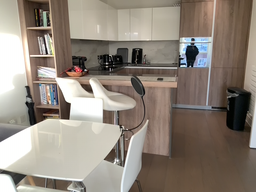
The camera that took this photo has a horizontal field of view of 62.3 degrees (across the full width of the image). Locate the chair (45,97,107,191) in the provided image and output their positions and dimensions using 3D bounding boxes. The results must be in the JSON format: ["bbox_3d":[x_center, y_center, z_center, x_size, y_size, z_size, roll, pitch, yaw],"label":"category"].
[{"bbox_3d":[-0.440,0.490,1.980,0.340,0.870,0.470,2,14,11],"label":"chair"}]

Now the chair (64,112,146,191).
[{"bbox_3d":[-0.120,0.600,1.530,0.460,0.870,0.380,2,14,11],"label":"chair"}]

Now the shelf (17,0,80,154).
[{"bbox_3d":[-0.990,-0.530,2.710,0.390,2.490,0.470,3,14,16],"label":"shelf"}]

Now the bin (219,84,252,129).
[{"bbox_3d":[1.770,0.150,3.540,0.380,0.630,0.450,4,14,18],"label":"bin"}]

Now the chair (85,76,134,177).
[{"bbox_3d":[-0.170,0.320,2.360,0.440,1.020,0.410,1,14,6],"label":"chair"}]
